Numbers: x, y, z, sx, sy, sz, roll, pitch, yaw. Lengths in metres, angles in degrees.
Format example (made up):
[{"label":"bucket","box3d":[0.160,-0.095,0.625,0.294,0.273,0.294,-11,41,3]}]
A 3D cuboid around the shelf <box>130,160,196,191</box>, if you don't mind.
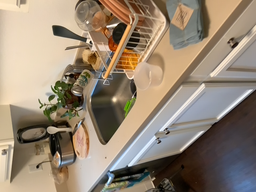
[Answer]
[{"label":"shelf","box3d":[0.330,0.940,2.010,0.400,0.340,0.460,58,136,37]}]
